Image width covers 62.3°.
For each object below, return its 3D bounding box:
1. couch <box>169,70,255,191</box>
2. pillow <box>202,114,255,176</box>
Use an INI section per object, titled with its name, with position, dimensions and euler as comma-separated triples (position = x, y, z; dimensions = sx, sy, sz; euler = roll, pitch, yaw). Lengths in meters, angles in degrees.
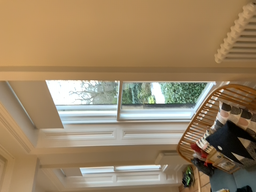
[couch]
position = 1.080, 0.700, 2.090
dimensions = 1.760, 0.760, 1.000
euler = 100, 169, -57
[pillow]
position = 0.960, 0.460, 1.940
dimensions = 0.120, 0.440, 0.540
euler = -45, -30, -24
